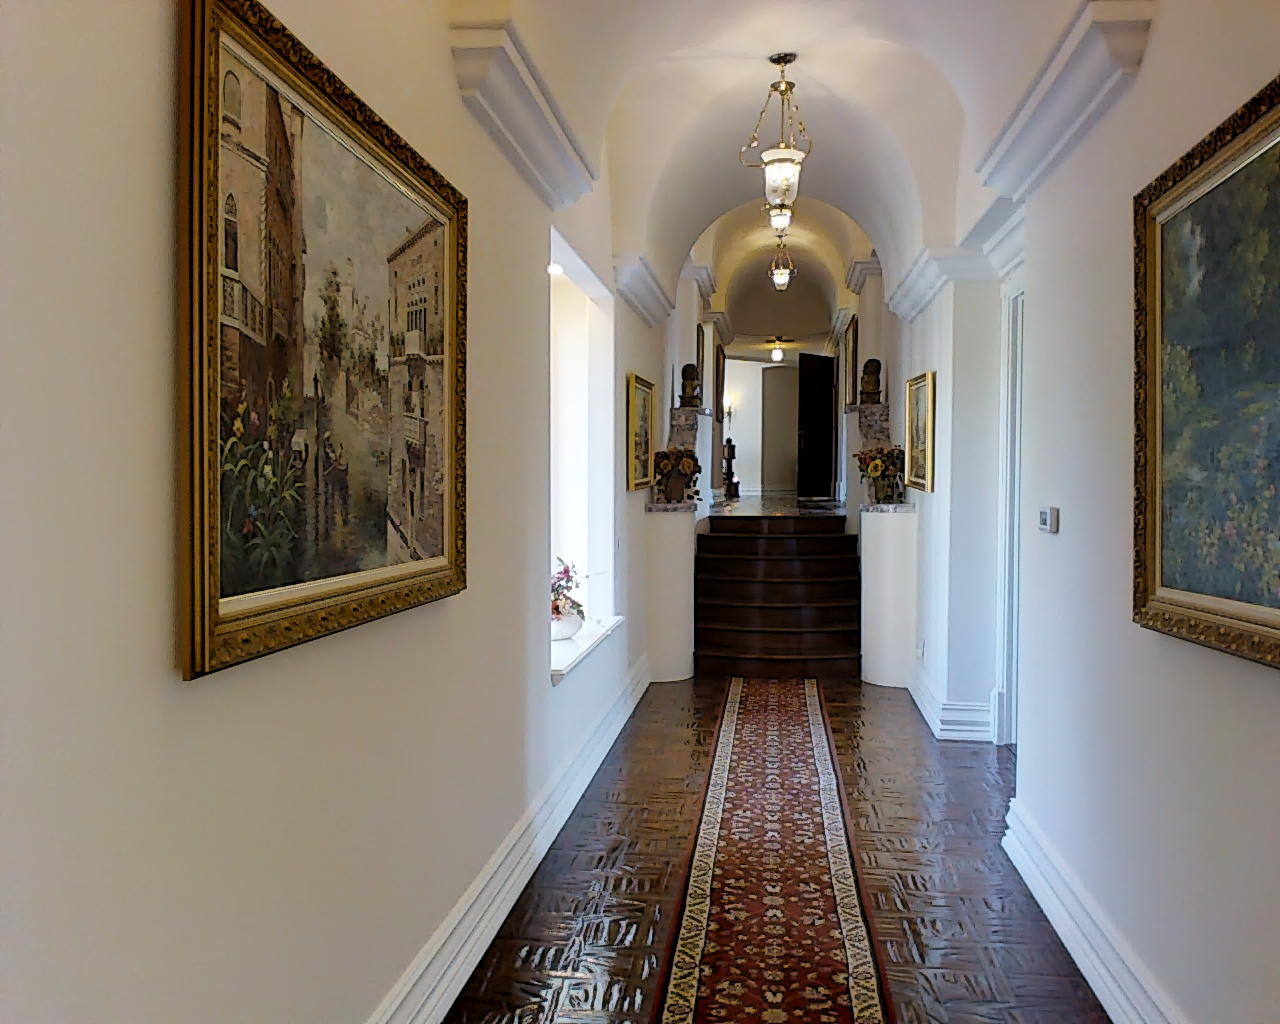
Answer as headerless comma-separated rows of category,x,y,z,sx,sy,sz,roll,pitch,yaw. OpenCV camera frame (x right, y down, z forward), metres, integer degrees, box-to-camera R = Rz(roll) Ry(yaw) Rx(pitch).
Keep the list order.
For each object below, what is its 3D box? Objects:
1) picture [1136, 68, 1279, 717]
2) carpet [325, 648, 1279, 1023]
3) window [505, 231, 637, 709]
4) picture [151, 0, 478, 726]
picture,1.210,-0.220,2.030,0.070,1.180,1.420,0,1,8
carpet,0.570,1.220,3.480,2.090,0.320,8.720,0,1,8
window,-0.290,-0.180,5.380,0.280,1.970,1.910,0,1,8
picture,-0.590,-0.270,2.300,0.070,1.160,1.440,0,1,8
